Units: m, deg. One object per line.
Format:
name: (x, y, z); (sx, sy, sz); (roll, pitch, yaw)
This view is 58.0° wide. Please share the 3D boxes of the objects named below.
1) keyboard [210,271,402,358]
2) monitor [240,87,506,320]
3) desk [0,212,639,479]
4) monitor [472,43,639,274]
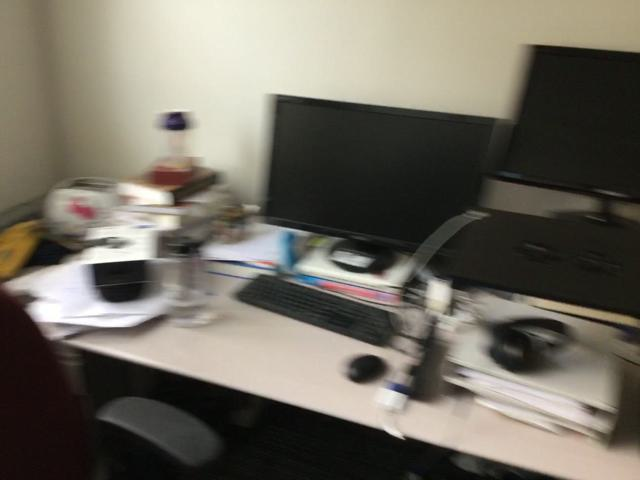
keyboard: (-0.030, 0.180, 1.480); (0.440, 0.050, 0.220); (8, 24, 17)
monitor: (0.150, -0.130, 1.610); (0.630, 0.500, 0.340); (8, 24, 17)
desk: (0.050, 0.500, 1.630); (1.650, 0.750, 0.810); (8, 24, 17)
monitor: (0.690, -0.200, 1.350); (0.580, 0.460, 0.290); (8, 24, 17)
